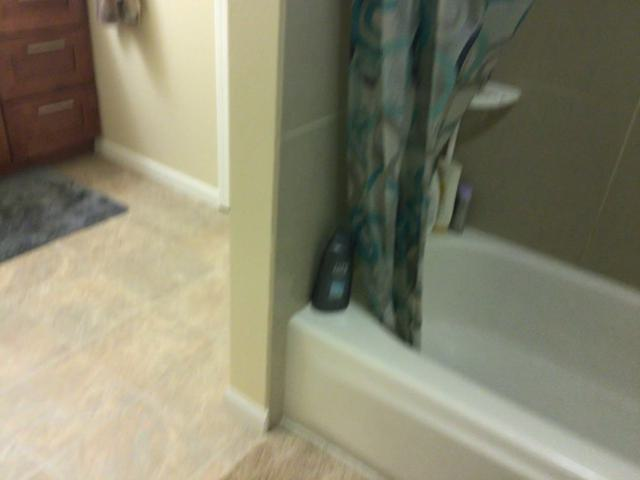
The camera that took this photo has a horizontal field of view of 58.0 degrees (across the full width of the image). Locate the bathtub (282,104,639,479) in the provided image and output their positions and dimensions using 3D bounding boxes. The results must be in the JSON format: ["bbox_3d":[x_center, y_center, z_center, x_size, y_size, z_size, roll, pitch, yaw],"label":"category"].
[{"bbox_3d":[0.730,0.310,1.340,1.440,0.750,0.760,24,36,28],"label":"bathtub"}]
